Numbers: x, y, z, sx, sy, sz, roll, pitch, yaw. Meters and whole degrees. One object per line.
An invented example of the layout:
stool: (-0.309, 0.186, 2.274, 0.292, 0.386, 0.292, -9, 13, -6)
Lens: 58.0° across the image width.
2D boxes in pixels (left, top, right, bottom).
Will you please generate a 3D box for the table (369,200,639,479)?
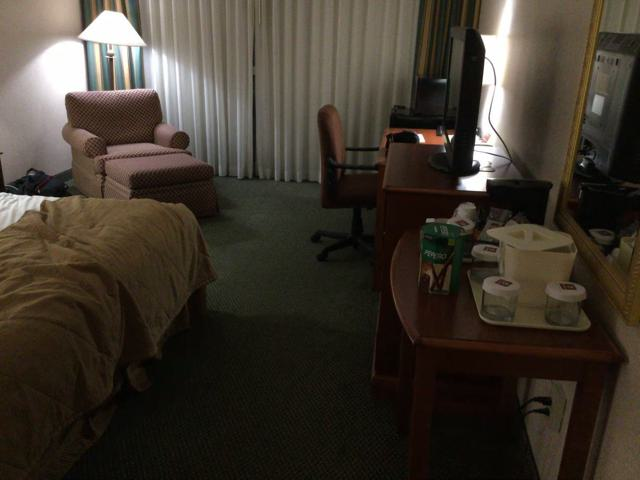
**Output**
table: (0.440, 0.430, 1.720, 0.530, 0.870, 0.750, 5, 22, 6)

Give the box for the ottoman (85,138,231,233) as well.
ottoman: (-1.200, -0.440, 4.320, 0.820, 0.430, 0.660, -16, 28, -36)
